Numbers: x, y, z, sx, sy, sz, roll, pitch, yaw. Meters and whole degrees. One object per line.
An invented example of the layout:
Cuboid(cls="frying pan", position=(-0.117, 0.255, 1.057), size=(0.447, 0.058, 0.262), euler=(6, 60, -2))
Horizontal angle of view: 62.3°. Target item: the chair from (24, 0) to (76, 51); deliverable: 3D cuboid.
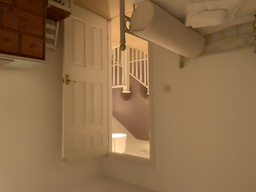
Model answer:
Cuboid(cls="chair", position=(-0.850, -0.880, 2.330), size=(0.390, 0.640, 0.390), euler=(-3, 176, 41))
